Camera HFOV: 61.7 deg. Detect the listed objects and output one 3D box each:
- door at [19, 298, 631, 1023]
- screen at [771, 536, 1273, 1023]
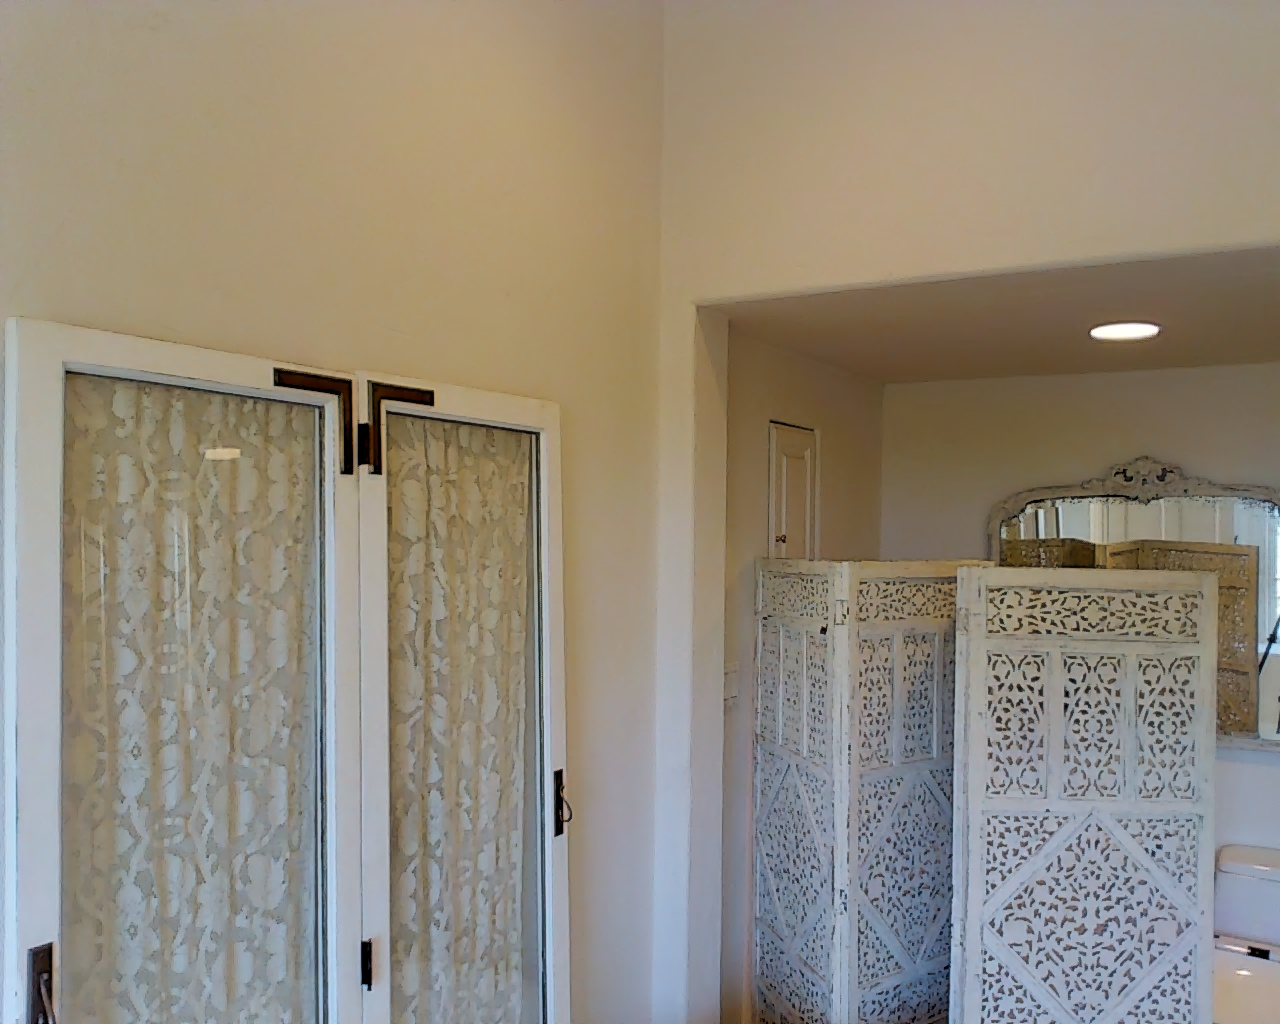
[{"bbox_3d":[-0.370,0.520,1.620,0.170,1.480,1.020,0,-1,32],"label":"door"},{"bbox_3d":[0.830,0.850,2.340,0.930,1.580,0.540,0,-1,32],"label":"screen"}]
